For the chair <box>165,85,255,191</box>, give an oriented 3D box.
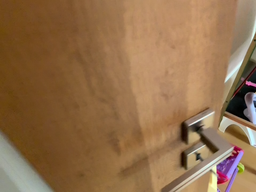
[{"bbox_3d":[0.460,0.290,1.230,0.290,0.560,0.350,-39,47,-26],"label":"chair"}]
